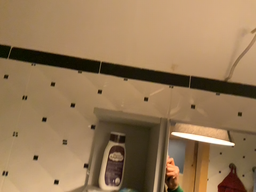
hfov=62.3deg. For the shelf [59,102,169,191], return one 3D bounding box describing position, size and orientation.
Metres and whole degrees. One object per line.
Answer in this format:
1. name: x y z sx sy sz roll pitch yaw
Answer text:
1. shelf: -0.070 0.410 0.560 0.240 0.740 0.180 9 -12 3
